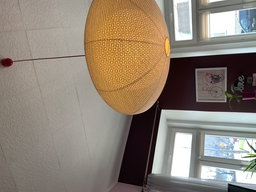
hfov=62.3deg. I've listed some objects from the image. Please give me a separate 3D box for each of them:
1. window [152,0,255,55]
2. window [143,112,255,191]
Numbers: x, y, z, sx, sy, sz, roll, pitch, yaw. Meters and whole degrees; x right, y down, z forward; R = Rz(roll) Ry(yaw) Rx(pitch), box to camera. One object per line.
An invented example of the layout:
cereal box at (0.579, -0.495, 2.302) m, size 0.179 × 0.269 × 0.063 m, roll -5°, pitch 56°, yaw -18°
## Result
window at (1.520, -1.460, 3.310) m, size 0.320 × 2.280 × 1.440 m, roll -33°, pitch -59°, yaw -61°
window at (1.480, 1.050, 3.500) m, size 0.280 × 2.210 × 1.530 m, roll 59°, pitch -141°, yaw -49°
